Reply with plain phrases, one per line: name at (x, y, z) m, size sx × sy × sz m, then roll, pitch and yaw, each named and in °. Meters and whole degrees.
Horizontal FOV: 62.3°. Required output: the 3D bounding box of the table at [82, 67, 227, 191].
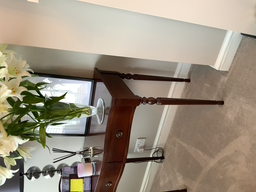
table at (0.120, 0.290, 1.540) m, size 0.450 × 0.750 × 0.840 m, roll -127°, pitch 44°, yaw -56°
